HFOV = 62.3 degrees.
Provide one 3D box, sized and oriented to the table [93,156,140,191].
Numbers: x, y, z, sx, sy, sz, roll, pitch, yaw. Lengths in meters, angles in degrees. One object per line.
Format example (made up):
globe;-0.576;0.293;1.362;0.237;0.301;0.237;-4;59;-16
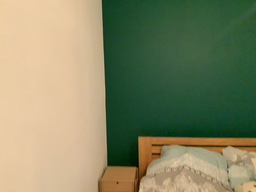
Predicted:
table;-0.100;1.050;2.370;0.430;0.550;0.540;0;6;6
